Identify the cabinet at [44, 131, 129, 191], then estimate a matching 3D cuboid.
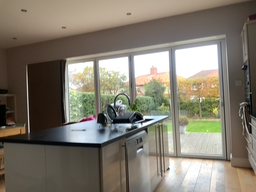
[{"bbox_3d":[-0.290,0.760,1.630,0.500,0.910,0.380,-2,0,21],"label":"cabinet"}]
